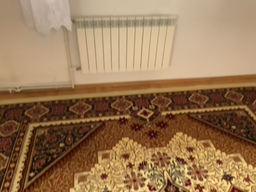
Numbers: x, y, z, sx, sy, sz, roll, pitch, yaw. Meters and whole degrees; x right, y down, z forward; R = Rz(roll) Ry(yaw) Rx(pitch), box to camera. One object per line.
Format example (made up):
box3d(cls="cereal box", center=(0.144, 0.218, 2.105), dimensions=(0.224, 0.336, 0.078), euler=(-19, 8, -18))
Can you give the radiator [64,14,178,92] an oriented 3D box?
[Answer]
box3d(cls="radiator", center=(-0.070, -0.450, 2.320), dimensions=(1.100, 0.820, 0.120), euler=(-5, 38, -10))
